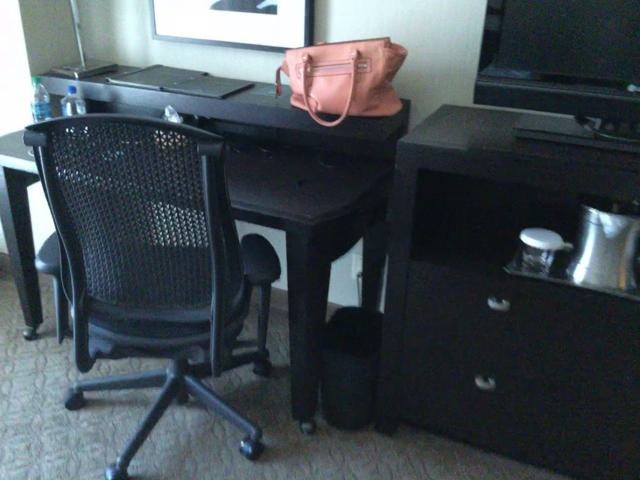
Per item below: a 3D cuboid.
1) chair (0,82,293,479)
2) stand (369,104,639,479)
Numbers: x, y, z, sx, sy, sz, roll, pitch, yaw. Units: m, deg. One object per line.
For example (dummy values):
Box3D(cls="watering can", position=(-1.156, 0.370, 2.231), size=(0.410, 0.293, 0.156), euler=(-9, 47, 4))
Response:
Box3D(cls="chair", position=(-0.460, 0.120, 1.670), size=(0.650, 1.030, 0.700), euler=(0, 21, 4))
Box3D(cls="stand", position=(0.790, 0.180, 1.680), size=(1.160, 1.010, 0.570), euler=(8, 23, 24))
